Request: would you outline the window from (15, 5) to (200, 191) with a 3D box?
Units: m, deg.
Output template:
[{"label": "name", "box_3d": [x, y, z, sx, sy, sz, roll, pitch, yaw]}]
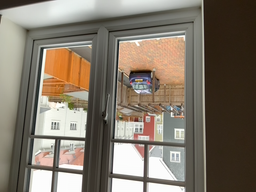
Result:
[{"label": "window", "box_3d": [-0.150, 0.110, 1.240, 1.080, 1.180, 0.080, 0, 171, 18]}]
